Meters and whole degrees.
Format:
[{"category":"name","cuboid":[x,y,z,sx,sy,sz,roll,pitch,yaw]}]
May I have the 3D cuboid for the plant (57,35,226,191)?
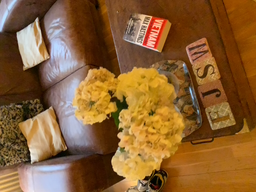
[{"category":"plant","cuboid":[0.070,0.080,0.730,0.330,0.440,0.370,-17,80,34]}]
